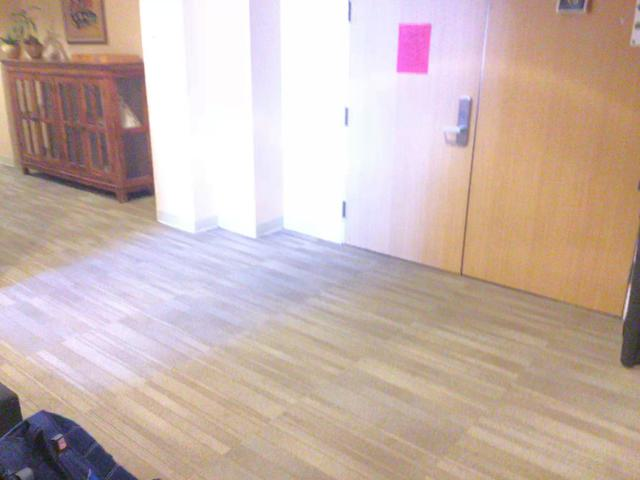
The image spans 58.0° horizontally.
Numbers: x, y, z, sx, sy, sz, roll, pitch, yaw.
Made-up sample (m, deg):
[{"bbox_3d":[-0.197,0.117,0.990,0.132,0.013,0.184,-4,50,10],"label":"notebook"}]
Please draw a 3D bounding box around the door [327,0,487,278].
[{"bbox_3d":[0.460,-0.980,3.240,0.840,2.310,0.250,12,24,34],"label":"door"}]

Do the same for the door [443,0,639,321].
[{"bbox_3d":[1.100,-0.810,2.740,0.940,2.300,0.150,16,26,39],"label":"door"}]
